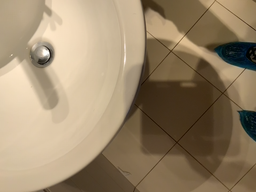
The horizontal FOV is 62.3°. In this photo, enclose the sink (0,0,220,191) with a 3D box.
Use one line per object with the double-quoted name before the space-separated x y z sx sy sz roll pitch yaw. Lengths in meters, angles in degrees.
"sink" -0.180 -0.070 0.420 0.450 0.210 0.450 41 95 9
